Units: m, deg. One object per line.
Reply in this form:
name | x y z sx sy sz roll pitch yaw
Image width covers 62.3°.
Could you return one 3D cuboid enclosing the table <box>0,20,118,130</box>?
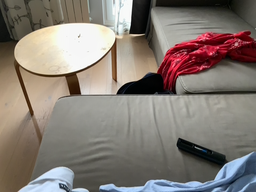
table | -0.410 -0.190 1.580 0.670 0.470 0.740 0 40 -3
